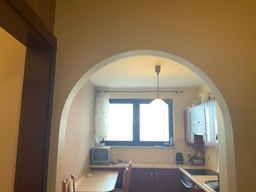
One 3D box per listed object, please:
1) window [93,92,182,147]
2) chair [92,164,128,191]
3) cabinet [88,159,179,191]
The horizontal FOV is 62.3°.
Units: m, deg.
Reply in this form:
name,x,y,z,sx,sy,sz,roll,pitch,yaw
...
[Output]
name,x,y,z,sx,sy,sz,roll,pitch,yaw
window,0.220,0.560,5.080,2.030,1.220,0.330,1,-9,1
chair,-0.270,1.600,3.300,0.520,0.980,0.390,1,-9,0
cabinet,0.110,1.840,4.480,1.790,0.860,0.560,1,-9,1
